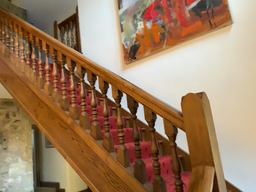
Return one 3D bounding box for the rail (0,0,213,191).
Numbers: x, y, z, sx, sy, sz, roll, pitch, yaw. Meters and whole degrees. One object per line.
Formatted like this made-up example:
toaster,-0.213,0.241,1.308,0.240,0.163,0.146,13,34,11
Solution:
rail,-0.960,-0.010,2.380,3.410,4.430,0.140,-15,-13,38
